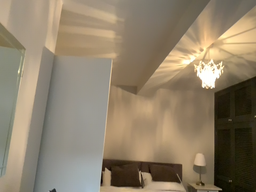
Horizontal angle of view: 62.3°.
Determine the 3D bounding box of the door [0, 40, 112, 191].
[{"bbox_3d":[-0.610,0.530,1.390,0.860,1.810,0.070,5,-11,-4],"label":"door"}]
